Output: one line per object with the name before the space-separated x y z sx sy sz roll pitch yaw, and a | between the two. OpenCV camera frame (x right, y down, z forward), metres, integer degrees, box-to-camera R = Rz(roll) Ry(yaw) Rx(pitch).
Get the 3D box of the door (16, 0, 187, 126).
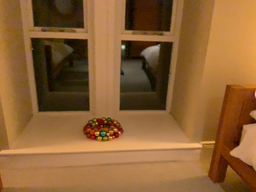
door | -0.170 -1.070 1.760 1.450 2.840 0.090 -2 21 -11
